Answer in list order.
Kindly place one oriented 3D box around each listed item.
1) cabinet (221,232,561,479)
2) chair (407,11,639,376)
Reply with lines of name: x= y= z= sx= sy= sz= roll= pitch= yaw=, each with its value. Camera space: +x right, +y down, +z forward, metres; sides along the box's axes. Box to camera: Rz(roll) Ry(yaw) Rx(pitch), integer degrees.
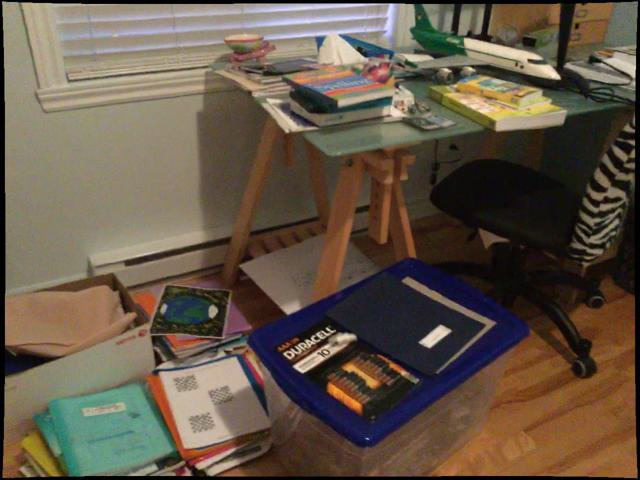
cabinet: x=0.160 y=0.330 z=1.410 sx=0.600 sy=0.360 sz=0.490 roll=-23 pitch=40 yaw=-33
chair: x=0.689 y=-0.170 z=1.730 sx=0.620 sy=0.831 sz=0.450 roll=27 pitch=40 yaw=35
